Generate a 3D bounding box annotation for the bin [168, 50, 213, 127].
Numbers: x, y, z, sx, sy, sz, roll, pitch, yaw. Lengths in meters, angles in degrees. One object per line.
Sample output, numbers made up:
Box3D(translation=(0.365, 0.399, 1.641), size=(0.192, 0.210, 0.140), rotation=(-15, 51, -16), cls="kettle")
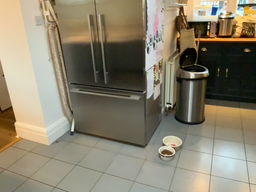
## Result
Box3D(translation=(0.790, -0.110, 2.700), size=(0.440, 0.860, 0.380), rotation=(8, 24, 24), cls="bin")
